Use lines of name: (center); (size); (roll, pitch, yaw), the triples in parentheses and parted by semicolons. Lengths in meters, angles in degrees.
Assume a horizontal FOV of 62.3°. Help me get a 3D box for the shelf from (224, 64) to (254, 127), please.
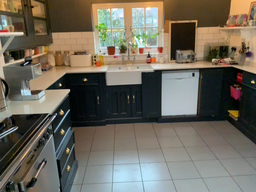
shelf: (1.660, -0.010, 3.210); (0.210, 0.920, 0.250); (-2, 17, -2)
